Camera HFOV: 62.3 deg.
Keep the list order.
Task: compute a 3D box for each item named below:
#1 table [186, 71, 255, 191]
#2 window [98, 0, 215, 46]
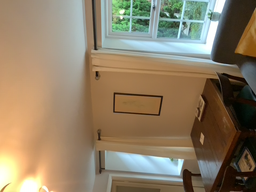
[{"bbox_3d":[1.320,0.490,2.640,1.160,0.740,1.170,-86,-1,-57],"label":"table"},{"bbox_3d":[0.360,-1.110,2.890,0.080,1.510,0.770,-86,-1,-58],"label":"window"}]
